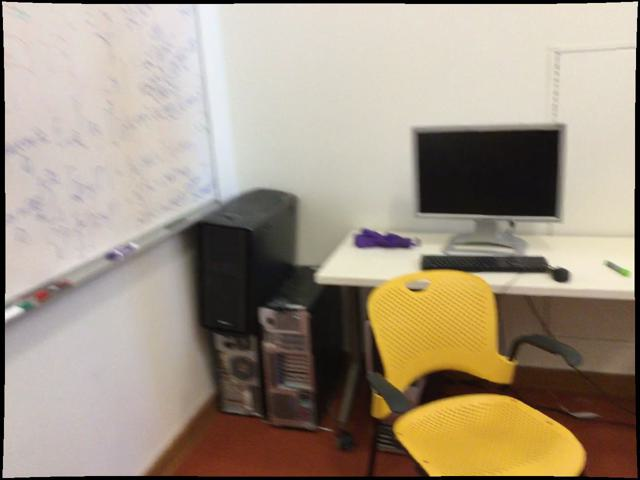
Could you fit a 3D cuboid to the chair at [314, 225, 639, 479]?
[{"bbox_3d":[0.400,0.490,1.710,0.550,0.821,0.790,-9,20,-22],"label":"chair"}]
